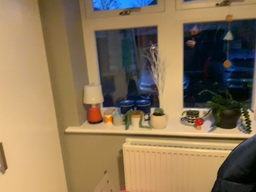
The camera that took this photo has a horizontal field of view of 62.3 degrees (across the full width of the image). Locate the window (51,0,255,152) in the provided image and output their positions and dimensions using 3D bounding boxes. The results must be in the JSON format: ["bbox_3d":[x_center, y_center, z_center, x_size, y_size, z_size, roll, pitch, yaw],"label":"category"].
[{"bbox_3d":[0.250,-0.530,1.420,1.470,1.760,0.310,0,15,13],"label":"window"}]
